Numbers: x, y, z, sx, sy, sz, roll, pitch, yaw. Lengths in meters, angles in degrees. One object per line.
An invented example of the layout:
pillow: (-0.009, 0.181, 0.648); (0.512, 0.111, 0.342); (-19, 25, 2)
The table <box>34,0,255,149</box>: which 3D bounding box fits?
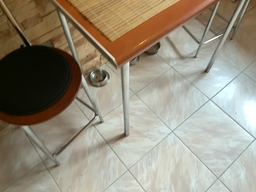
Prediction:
table: (0.140, -0.340, 1.140); (0.900, 0.840, 0.590); (-36, 66, -18)
